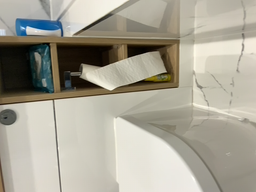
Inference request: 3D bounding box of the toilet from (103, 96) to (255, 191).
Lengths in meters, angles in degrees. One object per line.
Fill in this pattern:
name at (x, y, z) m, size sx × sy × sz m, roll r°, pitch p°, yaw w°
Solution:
toilet at (0.230, 0.240, 0.680) m, size 0.520 × 0.450 × 0.370 m, roll 16°, pitch 110°, yaw 63°
